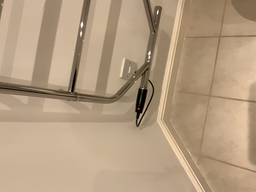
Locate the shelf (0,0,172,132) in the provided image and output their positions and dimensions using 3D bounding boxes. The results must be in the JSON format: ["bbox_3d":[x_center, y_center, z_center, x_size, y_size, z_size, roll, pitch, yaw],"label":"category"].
[{"bbox_3d":[-0.140,-0.220,0.720,0.020,1.070,0.670,11,91,36],"label":"shelf"}]
